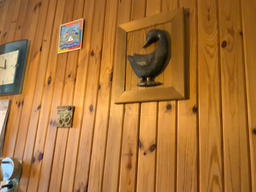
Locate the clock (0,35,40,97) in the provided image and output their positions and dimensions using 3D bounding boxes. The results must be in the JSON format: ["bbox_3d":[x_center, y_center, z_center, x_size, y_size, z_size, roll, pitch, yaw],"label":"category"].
[{"bbox_3d":[-0.670,-0.160,1.220,0.330,0.320,0.060,-4,-16,27],"label":"clock"}]
